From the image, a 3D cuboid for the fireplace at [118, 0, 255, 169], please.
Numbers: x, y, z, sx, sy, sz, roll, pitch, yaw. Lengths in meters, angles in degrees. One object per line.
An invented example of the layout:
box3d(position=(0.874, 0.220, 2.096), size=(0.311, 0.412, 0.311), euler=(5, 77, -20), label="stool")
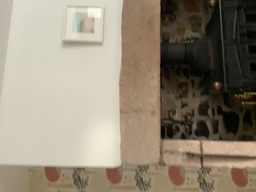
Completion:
box3d(position=(0.820, -0.410, 1.830), size=(0.790, 1.710, 1.870), euler=(88, -177, -80), label="fireplace")
